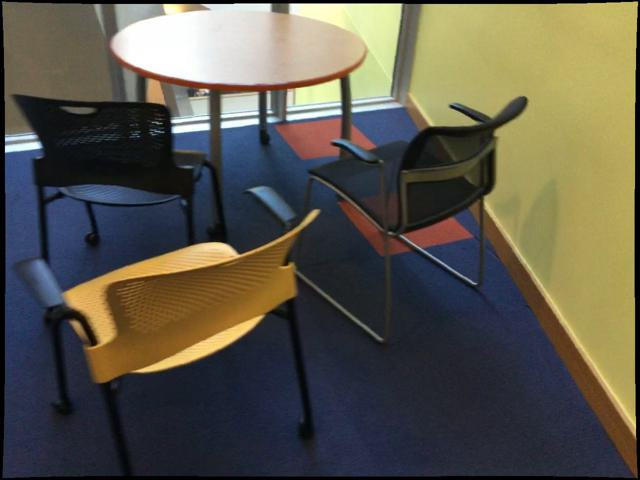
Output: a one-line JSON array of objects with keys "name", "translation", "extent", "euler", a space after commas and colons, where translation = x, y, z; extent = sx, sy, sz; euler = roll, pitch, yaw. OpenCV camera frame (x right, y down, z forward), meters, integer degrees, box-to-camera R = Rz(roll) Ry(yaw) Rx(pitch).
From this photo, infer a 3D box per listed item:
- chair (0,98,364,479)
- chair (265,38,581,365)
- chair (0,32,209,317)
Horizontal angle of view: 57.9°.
[{"name": "chair", "translation": [-0.350, 0.180, 1.410], "extent": [0.620, 0.761, 0.580], "euler": [31, 44, 33]}, {"name": "chair", "translation": [0.280, -0.180, 1.980], "extent": [0.680, 0.740, 0.680], "euler": [-20, 41, -29]}, {"name": "chair", "translation": [-0.669, -0.220, 1.920], "extent": [0.480, 0.740, 0.580], "euler": [1, 35, -3]}]
